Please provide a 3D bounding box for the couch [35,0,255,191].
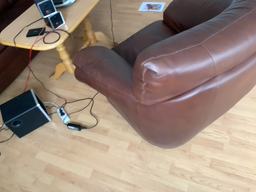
[{"bbox_3d":[0.310,-0.230,1.350,1.120,0.940,0.950,-34,53,-17],"label":"couch"}]
